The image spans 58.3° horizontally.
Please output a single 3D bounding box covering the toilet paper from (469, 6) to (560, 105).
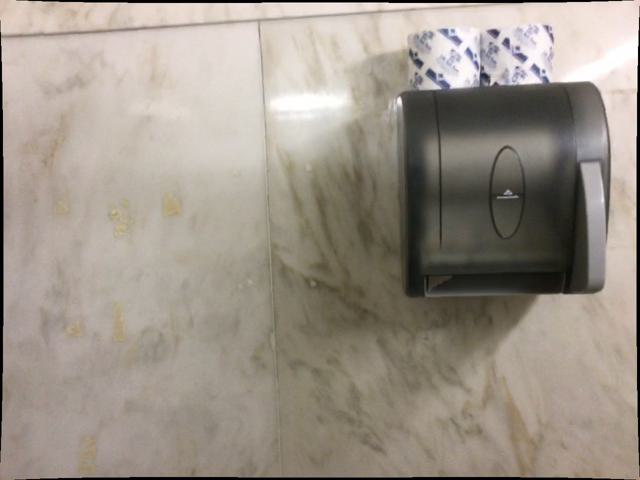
[{"bbox_3d":[0.340,-0.320,1.020,0.120,0.130,0.150,-3,5,6],"label":"toilet paper"}]

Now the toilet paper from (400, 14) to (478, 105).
[{"bbox_3d":[0.210,-0.320,1.040,0.120,0.120,0.150,-3,5,6],"label":"toilet paper"}]
